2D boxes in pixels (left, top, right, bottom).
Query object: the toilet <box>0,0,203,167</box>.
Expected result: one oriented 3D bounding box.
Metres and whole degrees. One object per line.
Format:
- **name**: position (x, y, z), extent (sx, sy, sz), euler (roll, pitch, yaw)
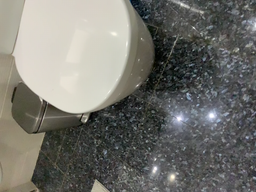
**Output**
- **toilet**: position (-0.250, -0.200, 0.660), extent (0.660, 0.780, 0.370), euler (28, 106, 29)
